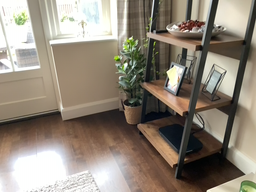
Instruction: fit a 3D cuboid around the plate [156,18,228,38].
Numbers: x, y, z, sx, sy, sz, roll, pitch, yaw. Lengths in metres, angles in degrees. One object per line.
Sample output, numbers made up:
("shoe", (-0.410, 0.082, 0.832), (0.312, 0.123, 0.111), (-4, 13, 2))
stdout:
("plate", (0.410, -0.460, 1.410), (0.300, 0.070, 0.340), (-13, 28, -23))
